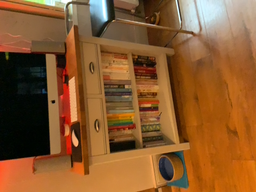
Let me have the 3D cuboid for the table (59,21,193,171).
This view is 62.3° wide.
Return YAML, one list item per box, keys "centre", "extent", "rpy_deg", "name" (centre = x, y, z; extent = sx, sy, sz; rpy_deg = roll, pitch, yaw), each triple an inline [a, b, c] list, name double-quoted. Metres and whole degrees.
- centre: [-0.020, 0.010, 1.620]
  extent: [0.390, 0.860, 0.890]
  rpy_deg: [-20, 73, 58]
  name: "table"

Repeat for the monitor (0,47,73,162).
- centre: [-0.630, 0.040, 1.310]
  extent: [0.080, 0.510, 0.670]
  rpy_deg: [-26, 68, 61]
  name: "monitor"
